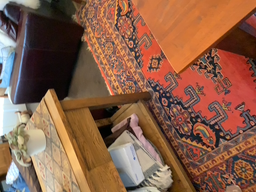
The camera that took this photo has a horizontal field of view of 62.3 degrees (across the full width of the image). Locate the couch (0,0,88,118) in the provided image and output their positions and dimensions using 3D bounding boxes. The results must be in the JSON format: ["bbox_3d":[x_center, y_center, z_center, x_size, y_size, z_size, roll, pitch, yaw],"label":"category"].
[{"bbox_3d":[-1.250,-0.560,2.390,1.130,0.830,1.080,40,119,32],"label":"couch"}]
